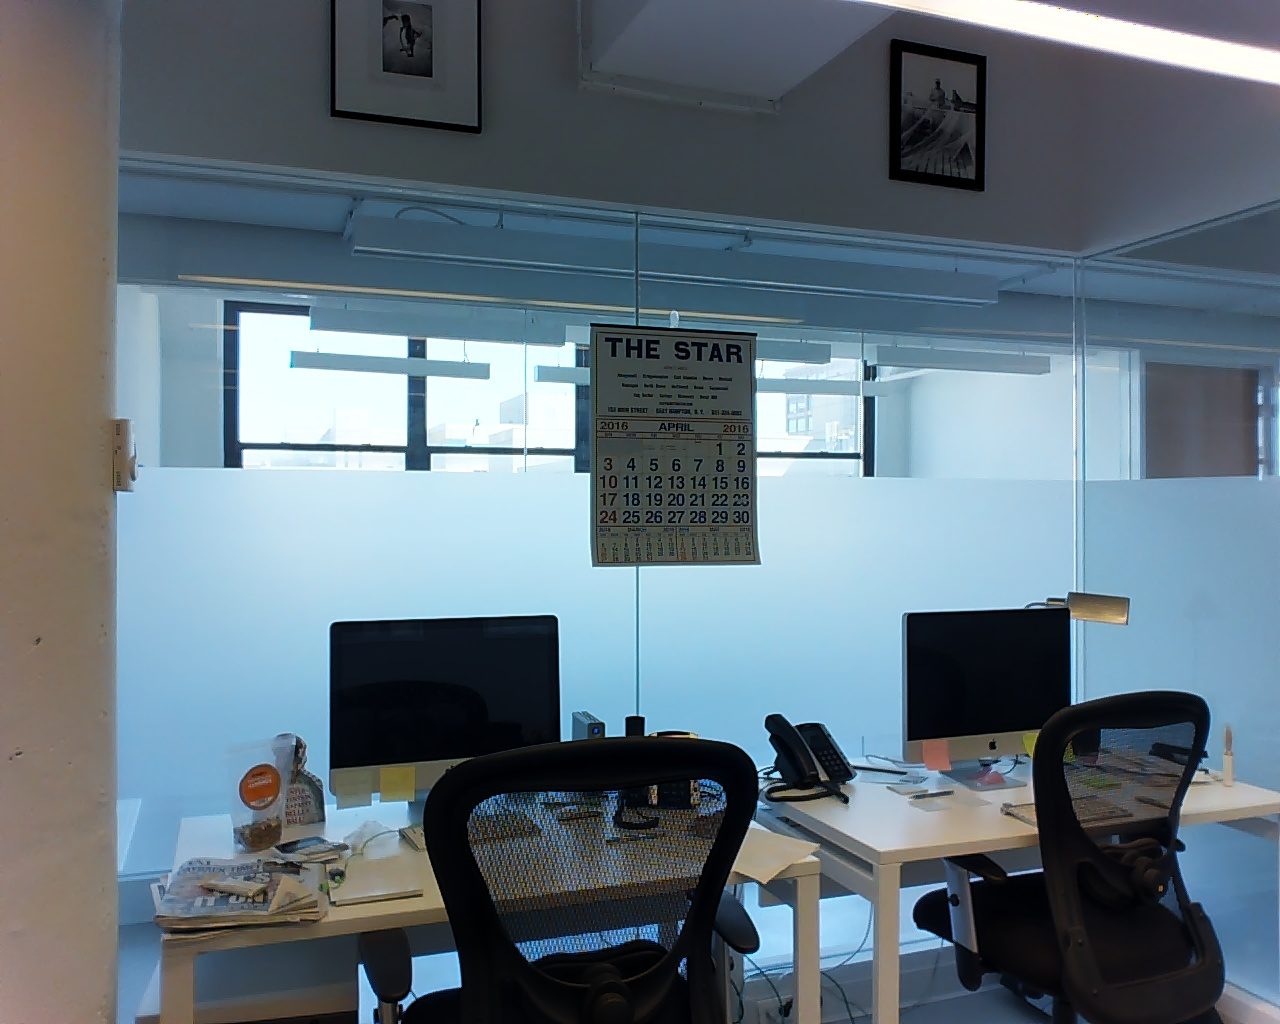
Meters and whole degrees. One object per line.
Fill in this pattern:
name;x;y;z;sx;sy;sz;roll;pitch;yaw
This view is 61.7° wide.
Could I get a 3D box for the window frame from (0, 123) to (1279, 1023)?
window frame;1.370;0.320;3.420;6.259;2.271;0.170;0;0;-22
